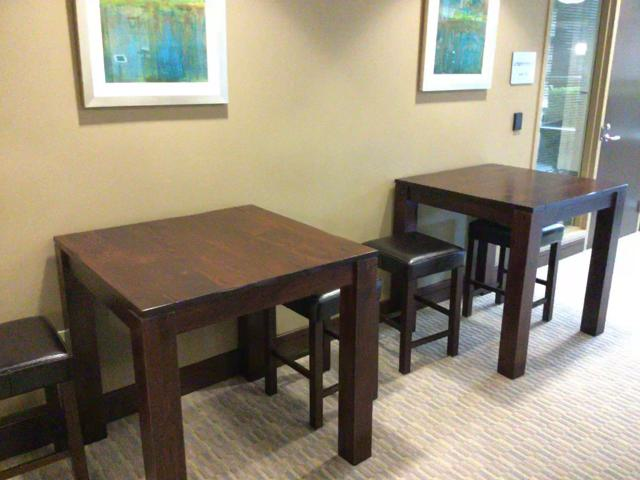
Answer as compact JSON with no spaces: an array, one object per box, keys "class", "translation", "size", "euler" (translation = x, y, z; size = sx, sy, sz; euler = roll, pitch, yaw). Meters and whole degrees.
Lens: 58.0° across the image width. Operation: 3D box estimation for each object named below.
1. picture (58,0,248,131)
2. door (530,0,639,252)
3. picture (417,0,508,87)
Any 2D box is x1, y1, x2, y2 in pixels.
[{"class":"picture","translation":[-0.660,-0.840,2.310],"size":[0.620,0.650,0.120],"euler":[-23,23,-28]},{"class":"door","translation":[1.990,-1.020,4.160],"size":[1.010,2.010,0.330],"euler":[-15,19,-31]},{"class":"picture","translation":[0.820,-1.220,3.280],"size":[0.620,0.630,0.100],"euler":[-15,19,-31]}]
